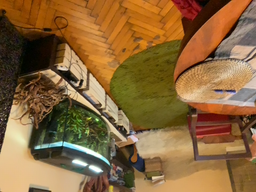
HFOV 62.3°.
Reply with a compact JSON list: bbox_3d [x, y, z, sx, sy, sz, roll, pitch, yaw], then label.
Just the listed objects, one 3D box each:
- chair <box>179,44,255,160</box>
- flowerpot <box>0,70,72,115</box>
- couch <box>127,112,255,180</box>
[{"bbox_3d":[0.860,0.070,2.020,0.540,0.910,0.570,-5,151,5],"label":"chair"},{"bbox_3d":[-0.750,-0.010,1.770,0.420,0.170,0.340,-9,150,13],"label":"flowerpot"},{"bbox_3d":[1.070,0.920,3.670,2.040,0.790,0.680,-10,150,13],"label":"couch"}]
